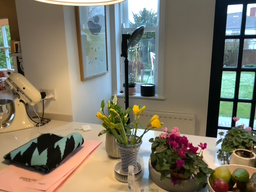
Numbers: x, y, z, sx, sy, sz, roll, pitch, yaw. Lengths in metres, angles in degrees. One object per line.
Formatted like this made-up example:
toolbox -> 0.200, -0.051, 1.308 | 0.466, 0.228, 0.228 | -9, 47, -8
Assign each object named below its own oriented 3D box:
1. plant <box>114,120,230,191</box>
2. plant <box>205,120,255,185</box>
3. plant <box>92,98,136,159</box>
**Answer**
plant -> 0.190, 0.270, 0.950 | 0.410, 0.170, 0.290 | 11, 18, 38
plant -> 0.580, 0.260, 1.060 | 0.270, 0.150, 0.370 | 1, 14, 5
plant -> -0.070, 0.170, 1.170 | 0.180, 0.270, 0.160 | 6, 15, 24
